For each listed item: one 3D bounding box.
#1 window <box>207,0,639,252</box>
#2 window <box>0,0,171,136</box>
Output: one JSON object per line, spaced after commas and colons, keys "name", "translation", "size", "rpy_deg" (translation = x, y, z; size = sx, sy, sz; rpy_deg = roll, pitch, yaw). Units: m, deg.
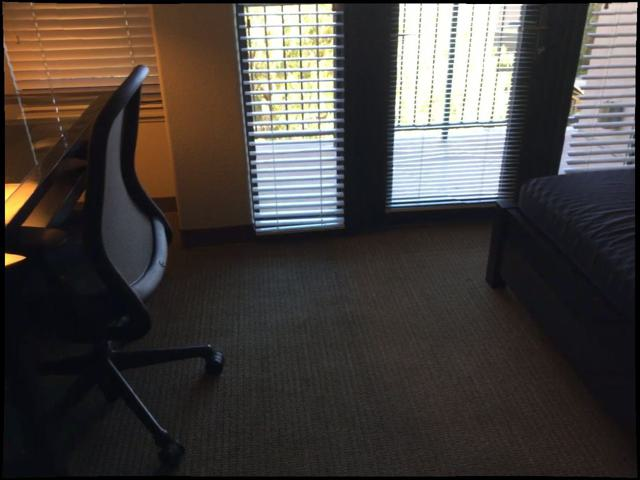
{"name": "window", "translation": [0.638, -1.313, 2.280], "size": [2.194, 2.746, 0.330], "rpy_deg": [-4, 28, -7]}
{"name": "window", "translation": [-1.127, -1.444, 2.330], "size": [0.748, 2.024, 0.170], "rpy_deg": [-4, 28, -7]}
